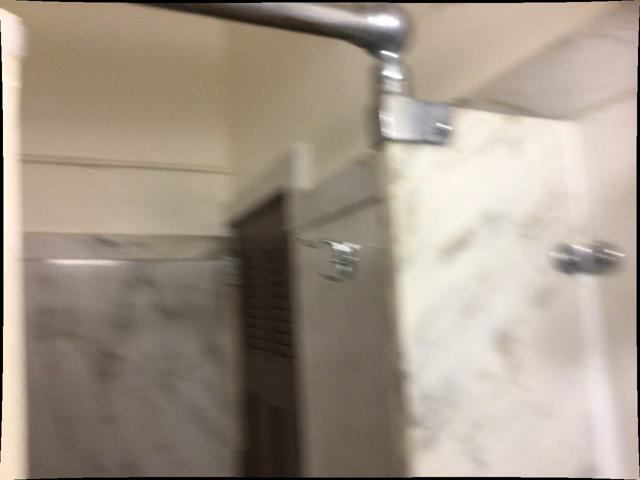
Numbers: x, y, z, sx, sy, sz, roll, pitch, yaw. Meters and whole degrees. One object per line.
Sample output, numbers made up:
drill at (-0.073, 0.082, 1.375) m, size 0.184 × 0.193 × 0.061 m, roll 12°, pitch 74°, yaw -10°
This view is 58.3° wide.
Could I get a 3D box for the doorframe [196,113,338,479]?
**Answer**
doorframe at (-0.180, 0.771, 1.870) m, size 0.130 × 2.112 × 0.990 m, roll -4°, pitch -5°, yaw -21°
